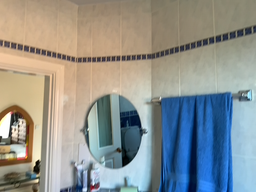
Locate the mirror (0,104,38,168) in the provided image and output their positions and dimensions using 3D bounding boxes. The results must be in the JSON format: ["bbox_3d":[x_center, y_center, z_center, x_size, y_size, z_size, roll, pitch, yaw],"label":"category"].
[{"bbox_3d":[-2.330,0.800,4.370,0.310,1.190,0.780,-10,-11,42],"label":"mirror"}]

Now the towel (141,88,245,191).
[{"bbox_3d":[0.350,0.600,1.250,0.580,1.240,0.170,-4,-7,44],"label":"towel"}]
